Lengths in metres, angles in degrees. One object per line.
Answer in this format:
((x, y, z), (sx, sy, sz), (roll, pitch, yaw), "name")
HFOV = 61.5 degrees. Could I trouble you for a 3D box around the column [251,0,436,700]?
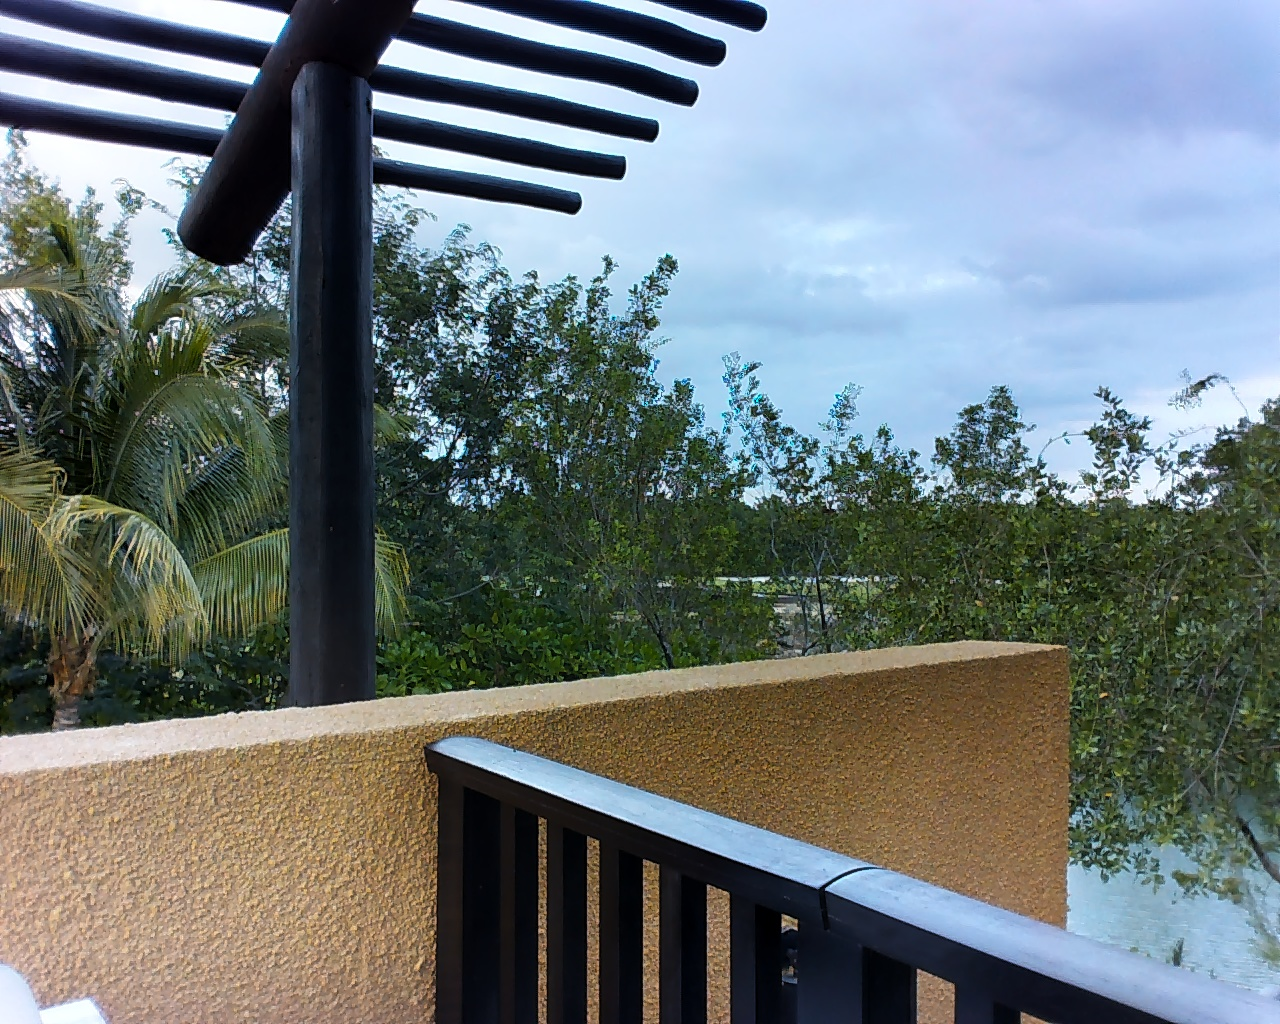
((-0.720, -0.410, 2.580), (0.230, 1.631, 0.490), (0, 0, -42), "column")
